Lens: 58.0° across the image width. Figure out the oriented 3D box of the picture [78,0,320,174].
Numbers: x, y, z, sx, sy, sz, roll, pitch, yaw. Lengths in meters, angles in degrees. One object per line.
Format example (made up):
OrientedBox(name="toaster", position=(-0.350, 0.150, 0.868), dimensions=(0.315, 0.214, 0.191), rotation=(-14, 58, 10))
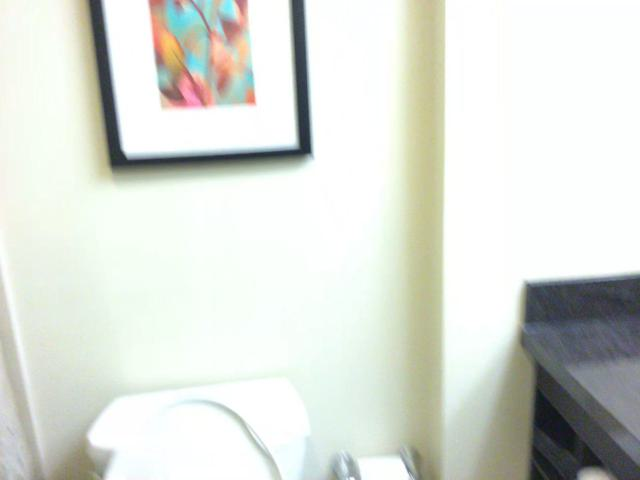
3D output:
OrientedBox(name="picture", position=(-0.230, -0.410, 1.100), dimensions=(0.420, 0.530, 0.040), rotation=(-6, 15, -4))
